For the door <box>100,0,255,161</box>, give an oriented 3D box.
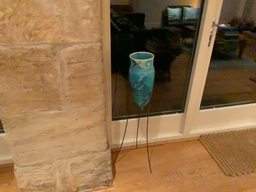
[{"bbox_3d":[1.020,-0.650,1.630,2.460,2.510,0.090,-6,30,-14],"label":"door"}]
